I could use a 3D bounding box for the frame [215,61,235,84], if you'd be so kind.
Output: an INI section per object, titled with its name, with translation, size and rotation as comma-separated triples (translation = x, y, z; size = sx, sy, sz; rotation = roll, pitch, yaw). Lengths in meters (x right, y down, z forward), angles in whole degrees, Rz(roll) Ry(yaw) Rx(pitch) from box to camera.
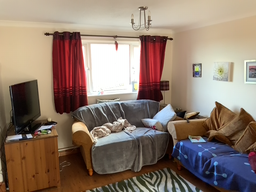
[frame]
translation = 1.540, -0.380, 3.390
size = 0.120, 0.340, 0.260
rotation = -5, 9, -24
